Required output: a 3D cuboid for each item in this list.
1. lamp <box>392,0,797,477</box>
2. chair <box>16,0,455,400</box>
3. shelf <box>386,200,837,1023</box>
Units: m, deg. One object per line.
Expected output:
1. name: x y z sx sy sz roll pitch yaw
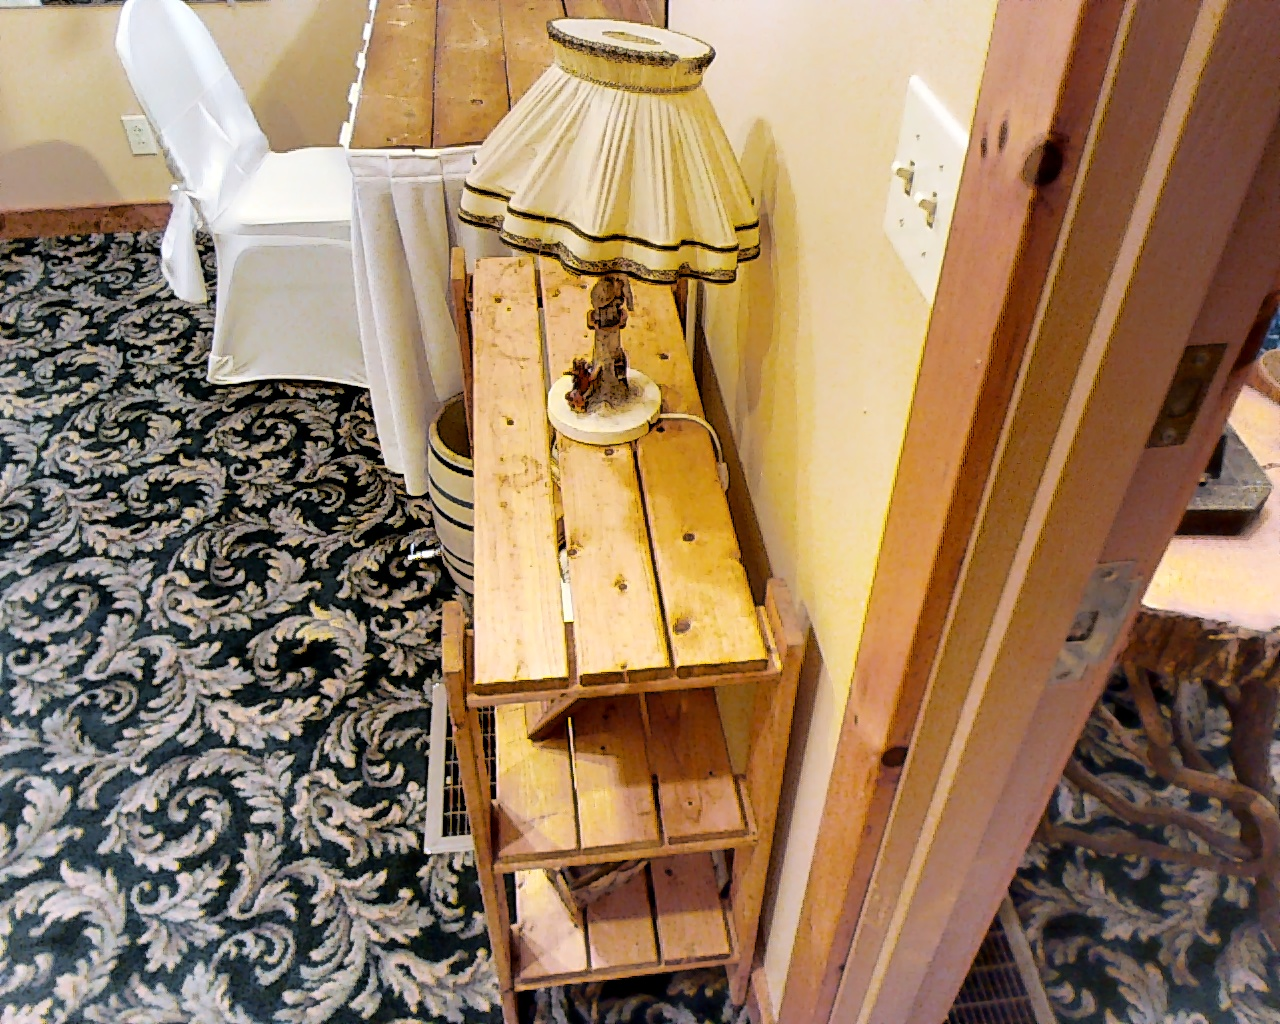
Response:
1. lamp: -0.050 -0.320 1.140 0.330 0.460 0.300 -4 43 -4
2. chair: -0.860 -0.790 2.540 0.650 0.910 0.480 3 43 3
3. shelf: -0.070 0.150 1.550 0.400 0.840 0.860 -4 43 -5
